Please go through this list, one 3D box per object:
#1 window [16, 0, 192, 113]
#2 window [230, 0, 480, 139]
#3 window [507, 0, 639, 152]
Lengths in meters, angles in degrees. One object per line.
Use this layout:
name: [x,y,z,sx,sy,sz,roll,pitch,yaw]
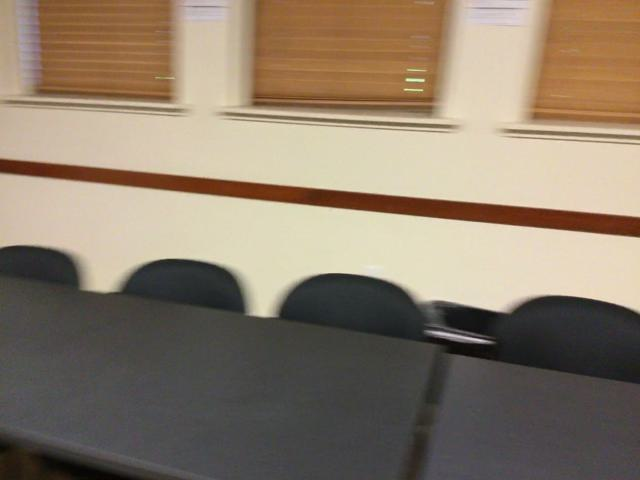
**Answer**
window: [-1.010,-1.020,2.670,0.860,0.800,0.140,8,16,18]
window: [0.120,-0.720,2.410,0.990,0.510,0.230,8,16,18]
window: [1.280,-0.570,2.040,1.120,0.510,0.240,8,16,18]
